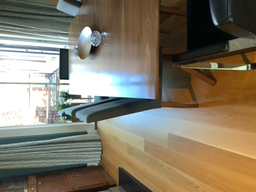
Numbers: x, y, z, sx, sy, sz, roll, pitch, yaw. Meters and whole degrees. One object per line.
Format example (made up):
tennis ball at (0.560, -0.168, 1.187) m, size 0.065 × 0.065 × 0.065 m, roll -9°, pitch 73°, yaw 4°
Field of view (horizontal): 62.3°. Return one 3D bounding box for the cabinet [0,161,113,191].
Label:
cabinet at (-1.230, 1.580, 3.520) m, size 0.880 × 1.760 × 0.490 m, roll -176°, pitch 86°, yaw -65°

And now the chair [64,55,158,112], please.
chair at (-0.190, -0.120, 2.300) m, size 0.440 × 0.910 × 0.510 m, roll -175°, pitch 85°, yaw -65°

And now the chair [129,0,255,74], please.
chair at (0.490, -0.450, 1.010) m, size 0.590 × 0.790 × 0.600 m, roll 180°, pitch 90°, yaw -65°

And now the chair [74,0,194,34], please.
chair at (0.050, -0.910, 1.800) m, size 0.450 × 0.910 × 0.530 m, roll 180°, pitch 90°, yaw -65°
